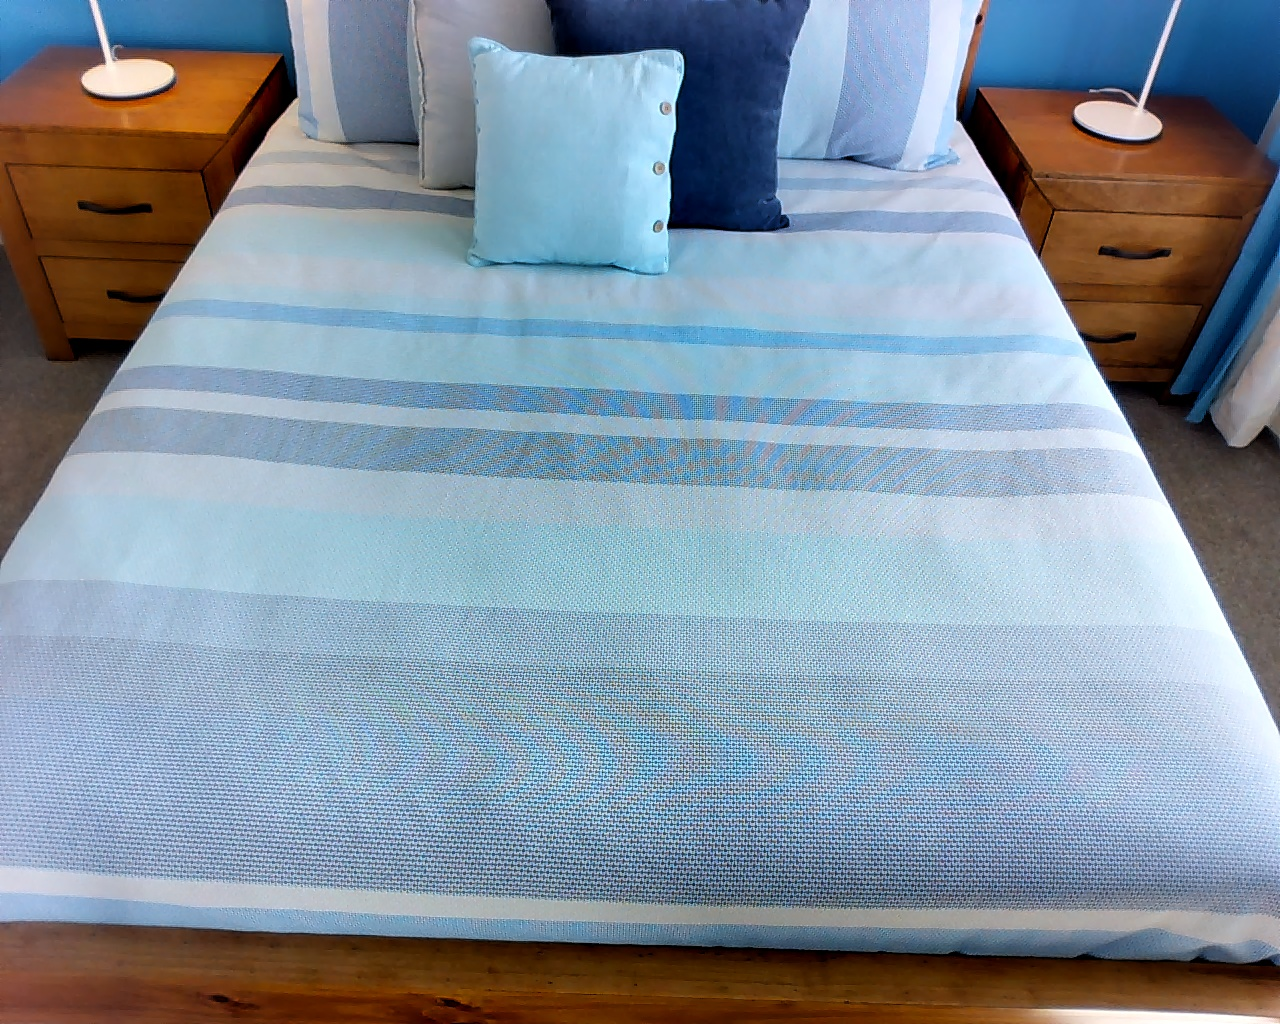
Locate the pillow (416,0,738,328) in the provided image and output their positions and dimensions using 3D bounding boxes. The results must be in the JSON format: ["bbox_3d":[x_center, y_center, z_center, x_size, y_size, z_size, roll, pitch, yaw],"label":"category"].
[{"bbox_3d":[-0.110,-0.590,1.830,0.420,0.370,0.210,19,40,-15],"label":"pillow"}]

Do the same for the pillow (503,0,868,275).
[{"bbox_3d":[0.060,-0.730,1.930,0.530,0.440,0.230,10,42,-10],"label":"pillow"}]

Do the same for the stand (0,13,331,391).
[{"bbox_3d":[-1.160,-0.720,2.510,0.650,0.660,0.520,2,43,-1],"label":"stand"}]

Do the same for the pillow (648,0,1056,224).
[{"bbox_3d":[0.380,-0.860,2.090,0.660,0.450,0.190,7,43,-7],"label":"pillow"}]

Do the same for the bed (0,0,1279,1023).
[{"bbox_3d":[-0.060,-0.340,1.730,1.840,1.220,2.250,2,43,-1],"label":"bed"}]
